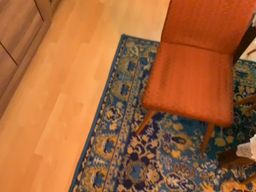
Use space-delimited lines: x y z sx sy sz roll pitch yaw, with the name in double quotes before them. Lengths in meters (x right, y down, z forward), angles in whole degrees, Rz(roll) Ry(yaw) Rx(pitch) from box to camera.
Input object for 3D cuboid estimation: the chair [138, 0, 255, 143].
"chair" 0.360 -0.160 1.150 0.440 0.770 0.550 14 64 5
